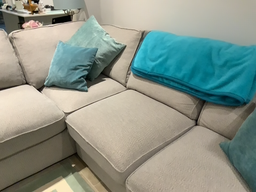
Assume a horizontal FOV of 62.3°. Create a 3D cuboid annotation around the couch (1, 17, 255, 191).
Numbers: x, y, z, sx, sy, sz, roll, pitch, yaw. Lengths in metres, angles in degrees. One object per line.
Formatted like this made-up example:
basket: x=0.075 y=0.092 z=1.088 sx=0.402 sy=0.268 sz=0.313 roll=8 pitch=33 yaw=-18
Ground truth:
couch: x=0.140 y=0.080 z=1.560 sx=1.110 sy=0.920 sz=2.420 roll=-23 pitch=35 yaw=-37
